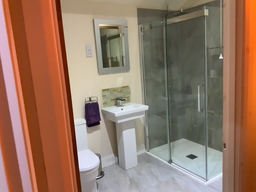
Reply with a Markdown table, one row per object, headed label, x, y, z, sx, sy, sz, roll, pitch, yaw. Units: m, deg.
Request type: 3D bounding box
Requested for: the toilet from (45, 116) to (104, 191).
| label | x | y | z | sx | sy | sz | roll | pitch | yaw |
| --- | --- | --- | --- | --- | --- | --- | --- | --- | --- |
| toilet | -0.660 | 0.730 | 2.560 | 0.430 | 0.800 | 0.670 | -9 | 11 | -30 |
